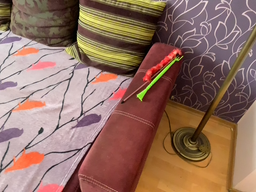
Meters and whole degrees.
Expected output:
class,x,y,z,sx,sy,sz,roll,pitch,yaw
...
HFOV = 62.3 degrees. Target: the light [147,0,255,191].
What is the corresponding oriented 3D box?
class,x,y,z,sx,sy,sz,roll,pitch,yaw
light,0.530,-0.130,1.060,0.480,1.510,0.540,20,48,11
